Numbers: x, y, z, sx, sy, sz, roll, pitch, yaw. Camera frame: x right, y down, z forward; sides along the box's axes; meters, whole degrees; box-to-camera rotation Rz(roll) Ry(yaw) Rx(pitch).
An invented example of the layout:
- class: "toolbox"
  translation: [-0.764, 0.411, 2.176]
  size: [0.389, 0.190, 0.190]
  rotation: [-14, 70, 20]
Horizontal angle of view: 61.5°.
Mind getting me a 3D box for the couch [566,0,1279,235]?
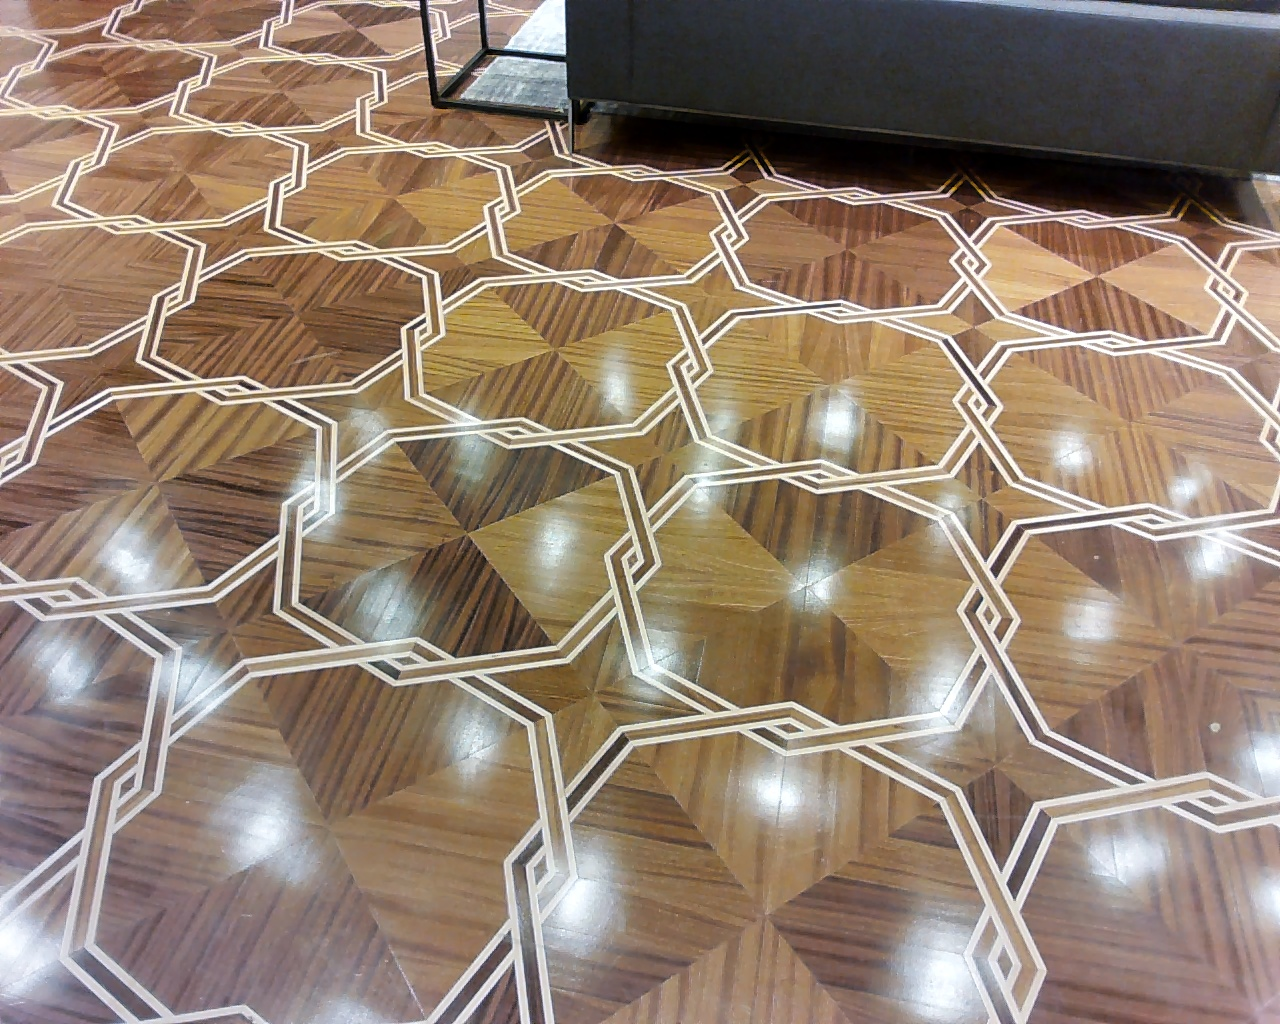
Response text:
- class: "couch"
  translation: [1.090, -1.770, 3.840]
  size: [2.500, 0.850, 1.070]
  rotation: [9, 43, 9]
